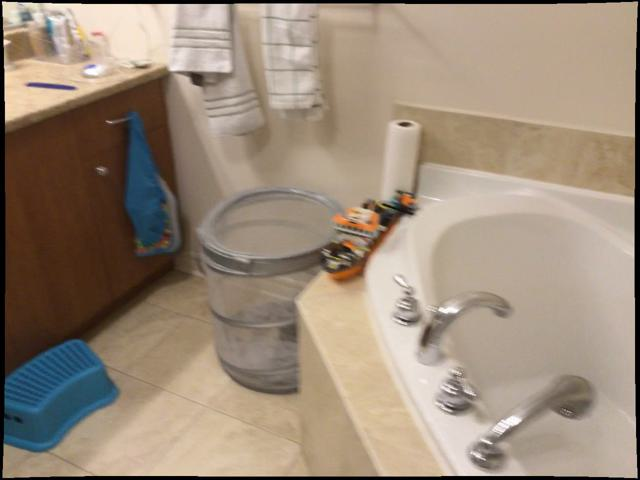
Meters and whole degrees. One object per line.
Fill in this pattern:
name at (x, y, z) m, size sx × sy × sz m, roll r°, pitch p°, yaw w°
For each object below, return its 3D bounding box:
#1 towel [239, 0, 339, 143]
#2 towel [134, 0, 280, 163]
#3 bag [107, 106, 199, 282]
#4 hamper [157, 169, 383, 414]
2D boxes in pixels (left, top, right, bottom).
towel at (-0.080, -0.511, 1.680) m, size 0.210 × 0.390 × 0.170 m, roll 13°, pitch 35°, yaw 24°
towel at (-0.340, -0.531, 1.800) m, size 0.340 × 0.500 × 0.190 m, roll 13°, pitch 35°, yaw 23°
bag at (-0.559, -0.150, 1.990) m, size 0.090 × 0.560 × 0.210 m, roll 12°, pitch 35°, yaw 23°
hamper at (-0.120, 0.130, 1.840) m, size 0.490 × 0.490 × 0.490 m, roll 13°, pitch 35°, yaw 24°
